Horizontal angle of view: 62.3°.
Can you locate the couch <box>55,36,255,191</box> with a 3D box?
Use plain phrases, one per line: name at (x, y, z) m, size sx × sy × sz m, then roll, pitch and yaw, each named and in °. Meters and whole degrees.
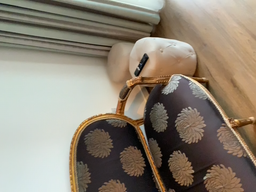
couch at (0.310, 0.590, 1.190) m, size 0.810 × 1.000 × 1.620 m, roll -54°, pitch 48°, yaw 44°
